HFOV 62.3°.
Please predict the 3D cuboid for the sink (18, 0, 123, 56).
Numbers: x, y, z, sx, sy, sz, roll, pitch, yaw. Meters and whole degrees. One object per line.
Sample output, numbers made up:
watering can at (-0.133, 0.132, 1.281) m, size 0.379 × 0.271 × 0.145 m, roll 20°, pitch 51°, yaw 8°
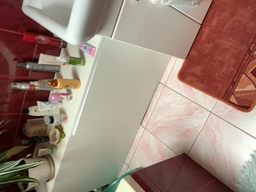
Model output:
sink at (-0.200, -0.510, 0.810) m, size 0.470 × 0.160 × 0.560 m, roll 35°, pitch 112°, yaw 37°
